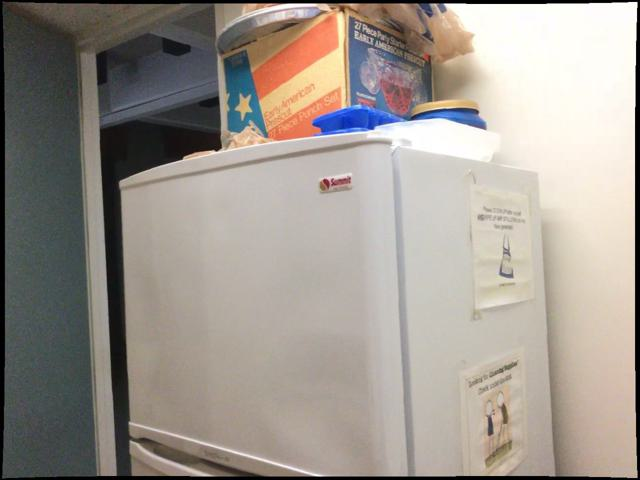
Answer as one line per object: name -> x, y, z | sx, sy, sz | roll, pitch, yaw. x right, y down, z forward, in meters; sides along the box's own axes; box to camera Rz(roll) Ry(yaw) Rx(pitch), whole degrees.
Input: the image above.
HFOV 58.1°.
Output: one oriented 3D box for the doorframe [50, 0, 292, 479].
doorframe -> -0.638, 0.331, 2.370 | 1.058, 2.476, 0.240 | -3, 0, 36
